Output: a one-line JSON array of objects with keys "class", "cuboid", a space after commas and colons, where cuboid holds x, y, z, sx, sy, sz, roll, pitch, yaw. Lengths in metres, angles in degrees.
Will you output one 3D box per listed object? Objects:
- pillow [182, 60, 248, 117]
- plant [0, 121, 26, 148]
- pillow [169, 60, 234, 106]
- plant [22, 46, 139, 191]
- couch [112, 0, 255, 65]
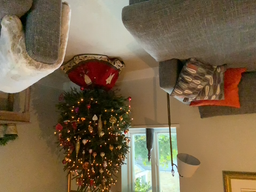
[{"class": "pillow", "cuboid": [0.880, -0.060, 2.190, 0.500, 0.390, 0.210, -23, 162, 22]}, {"class": "plant", "cuboid": [-1.620, 0.510, 2.810, 0.280, 0.320, 0.370, -6, 168, 26]}, {"class": "pillow", "cuboid": [0.670, -0.140, 1.890, 0.580, 0.360, 0.110, -11, 151, -42]}, {"class": "plant", "cuboid": [-0.590, 0.500, 2.910, 1.200, 1.930, 0.890, -5, 169, 24]}, {"class": "couch", "cuboid": [0.540, -0.570, 1.340, 1.130, 0.420, 0.610, -6, 168, 26]}]
